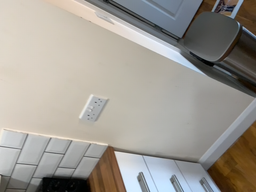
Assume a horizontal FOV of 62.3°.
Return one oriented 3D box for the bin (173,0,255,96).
[{"bbox_3d":[0.670,-0.260,1.290,0.300,0.640,0.350,-58,34,24],"label":"bin"}]
